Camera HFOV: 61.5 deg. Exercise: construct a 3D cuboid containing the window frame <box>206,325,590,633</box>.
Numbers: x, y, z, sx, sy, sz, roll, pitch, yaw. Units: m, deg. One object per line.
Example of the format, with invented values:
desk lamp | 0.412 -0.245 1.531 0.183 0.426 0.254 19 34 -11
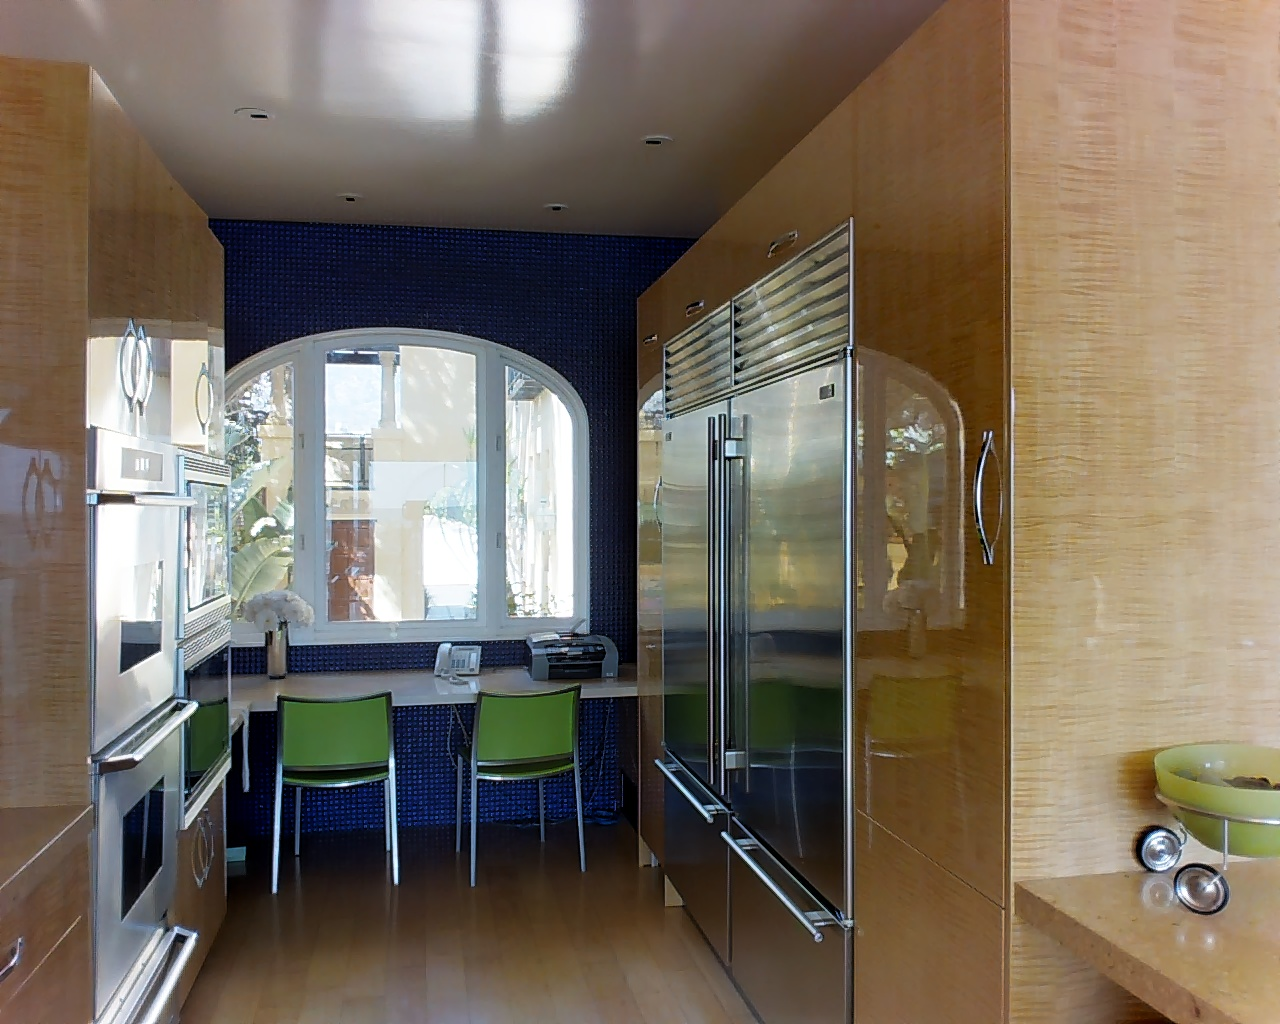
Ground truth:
window frame | -1.149 -0.160 5.270 1.769 1.421 0.310 -1 0 -11
